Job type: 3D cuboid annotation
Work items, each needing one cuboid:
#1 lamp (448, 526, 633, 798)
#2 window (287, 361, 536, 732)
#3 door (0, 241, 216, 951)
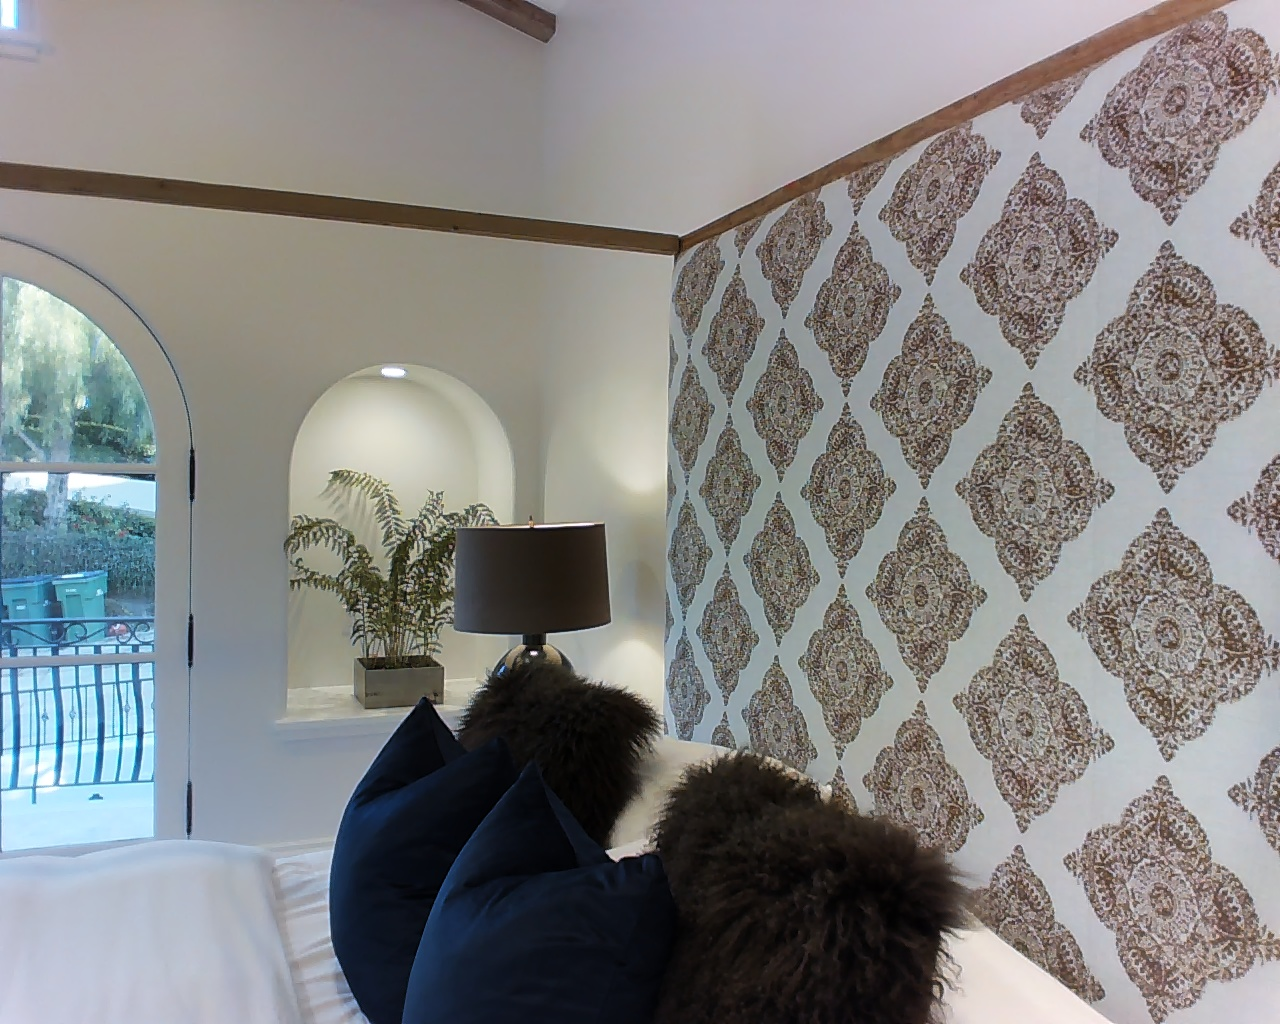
[{"bbox_3d":[-0.320,0.430,3.330,0.440,0.760,0.470,1,0,-22],"label":"lamp"},{"bbox_3d":[-0.940,0.140,4.420,0.930,1.410,0.340,1,0,-22],"label":"window"},{"bbox_3d":[-2.329,0.290,3.740,1.530,2.461,0.110,1,0,-22],"label":"door"}]
